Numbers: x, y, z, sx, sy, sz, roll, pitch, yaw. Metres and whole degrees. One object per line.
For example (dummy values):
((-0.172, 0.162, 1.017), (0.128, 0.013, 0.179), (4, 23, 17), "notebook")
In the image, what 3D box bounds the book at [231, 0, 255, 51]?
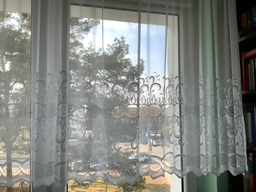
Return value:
((0.710, -0.440, 1.180), (0.160, 0.330, 0.190), (1, -4, -12), "book")

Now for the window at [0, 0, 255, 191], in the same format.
((-0.160, -0.090, 1.060), (1.930, 1.860, 0.250), (1, -4, -12), "window")

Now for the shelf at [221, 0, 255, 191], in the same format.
((0.760, -0.030, 1.210), (0.270, 1.190, 0.300), (1, -4, -13), "shelf")
